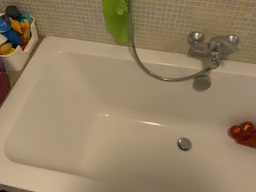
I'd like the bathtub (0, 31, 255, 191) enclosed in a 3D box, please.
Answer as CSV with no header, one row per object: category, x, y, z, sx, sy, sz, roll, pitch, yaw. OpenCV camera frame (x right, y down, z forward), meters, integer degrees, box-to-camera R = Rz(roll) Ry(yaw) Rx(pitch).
bathtub,0.220,0.270,1.090,1.860,0.600,0.740,10,56,6
